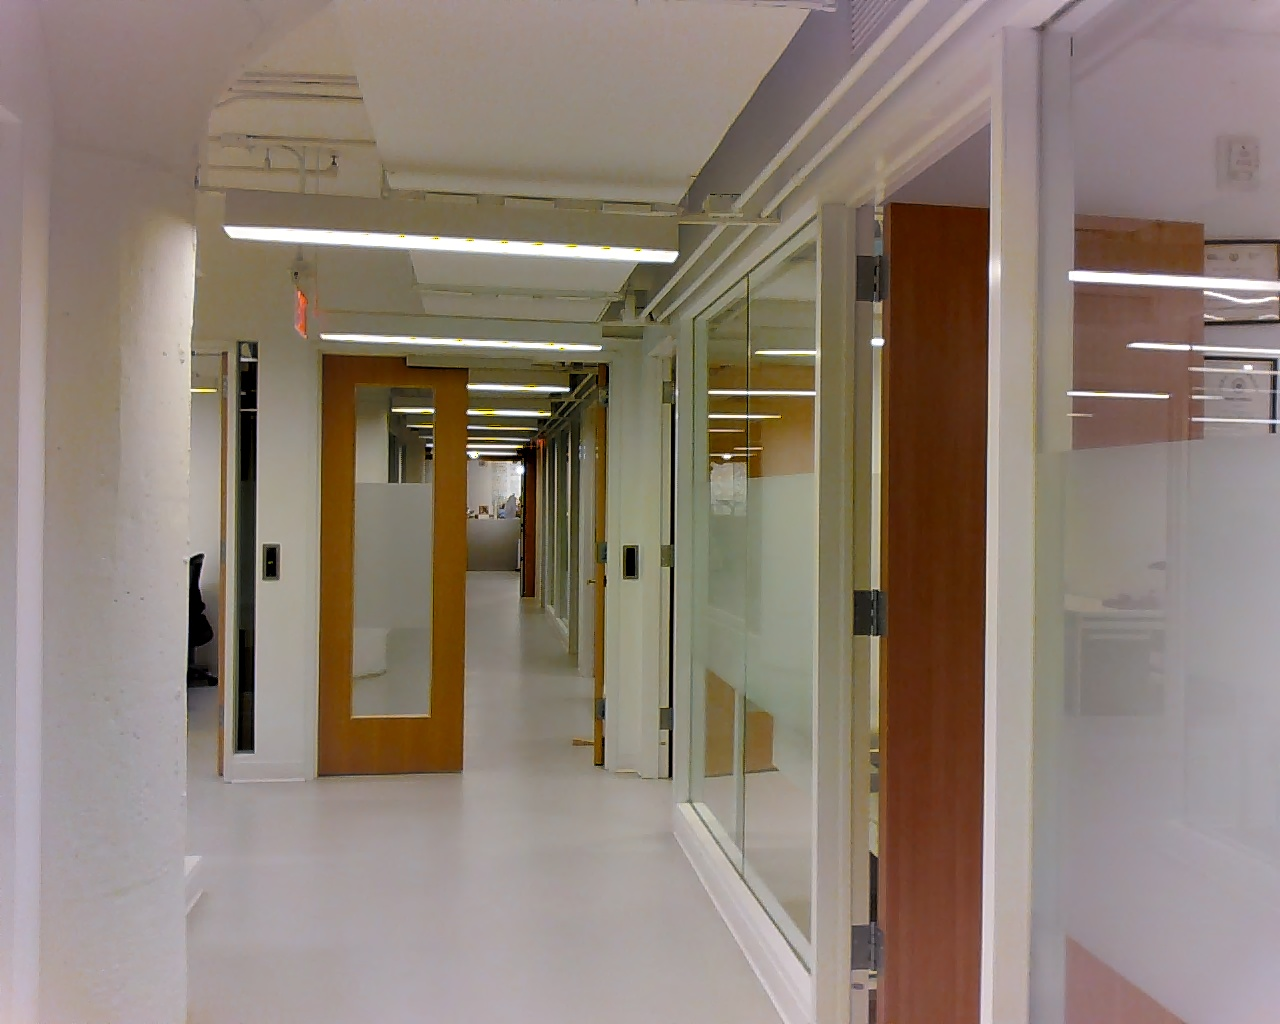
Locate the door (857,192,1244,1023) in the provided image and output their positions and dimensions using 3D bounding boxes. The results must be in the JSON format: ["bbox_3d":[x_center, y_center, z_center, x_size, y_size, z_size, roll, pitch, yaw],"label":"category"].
[{"bbox_3d":[1.080,0.330,2.800,1.020,2.250,0.080,1,0,-9],"label":"door"}]
